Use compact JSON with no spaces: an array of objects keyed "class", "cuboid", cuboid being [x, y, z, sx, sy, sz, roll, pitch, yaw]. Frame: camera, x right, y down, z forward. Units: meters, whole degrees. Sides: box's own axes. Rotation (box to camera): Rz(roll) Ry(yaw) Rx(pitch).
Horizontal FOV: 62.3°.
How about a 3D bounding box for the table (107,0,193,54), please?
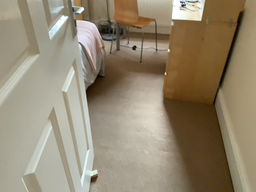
[{"class":"table","cuboid":[0.310,-1.110,2.960,1.030,0.750,0.640,7,37,9]}]
